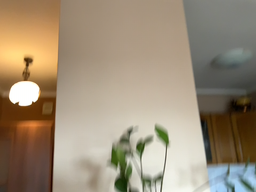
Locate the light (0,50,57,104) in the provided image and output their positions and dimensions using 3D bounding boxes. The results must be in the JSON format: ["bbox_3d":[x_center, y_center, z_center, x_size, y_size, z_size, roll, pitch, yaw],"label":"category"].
[{"bbox_3d":[-1.010,-0.200,2.030,0.600,0.280,0.340,-58,137,-66],"label":"light"}]
